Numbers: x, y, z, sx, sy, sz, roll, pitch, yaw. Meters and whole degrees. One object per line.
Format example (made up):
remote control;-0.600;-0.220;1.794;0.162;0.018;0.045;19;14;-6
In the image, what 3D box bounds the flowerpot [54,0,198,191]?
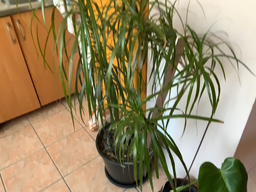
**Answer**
flowerpot;0.000;0.060;1.020;0.370;1.010;0.330;-24;42;-26
